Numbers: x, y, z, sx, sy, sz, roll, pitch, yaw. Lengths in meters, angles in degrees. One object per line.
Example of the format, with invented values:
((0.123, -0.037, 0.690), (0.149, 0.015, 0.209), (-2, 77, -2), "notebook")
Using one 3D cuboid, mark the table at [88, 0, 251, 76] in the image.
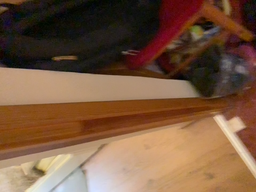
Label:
((0.220, -0.340, 0.950), (0.300, 0.650, 0.360), (-43, 64, 34), "table")
